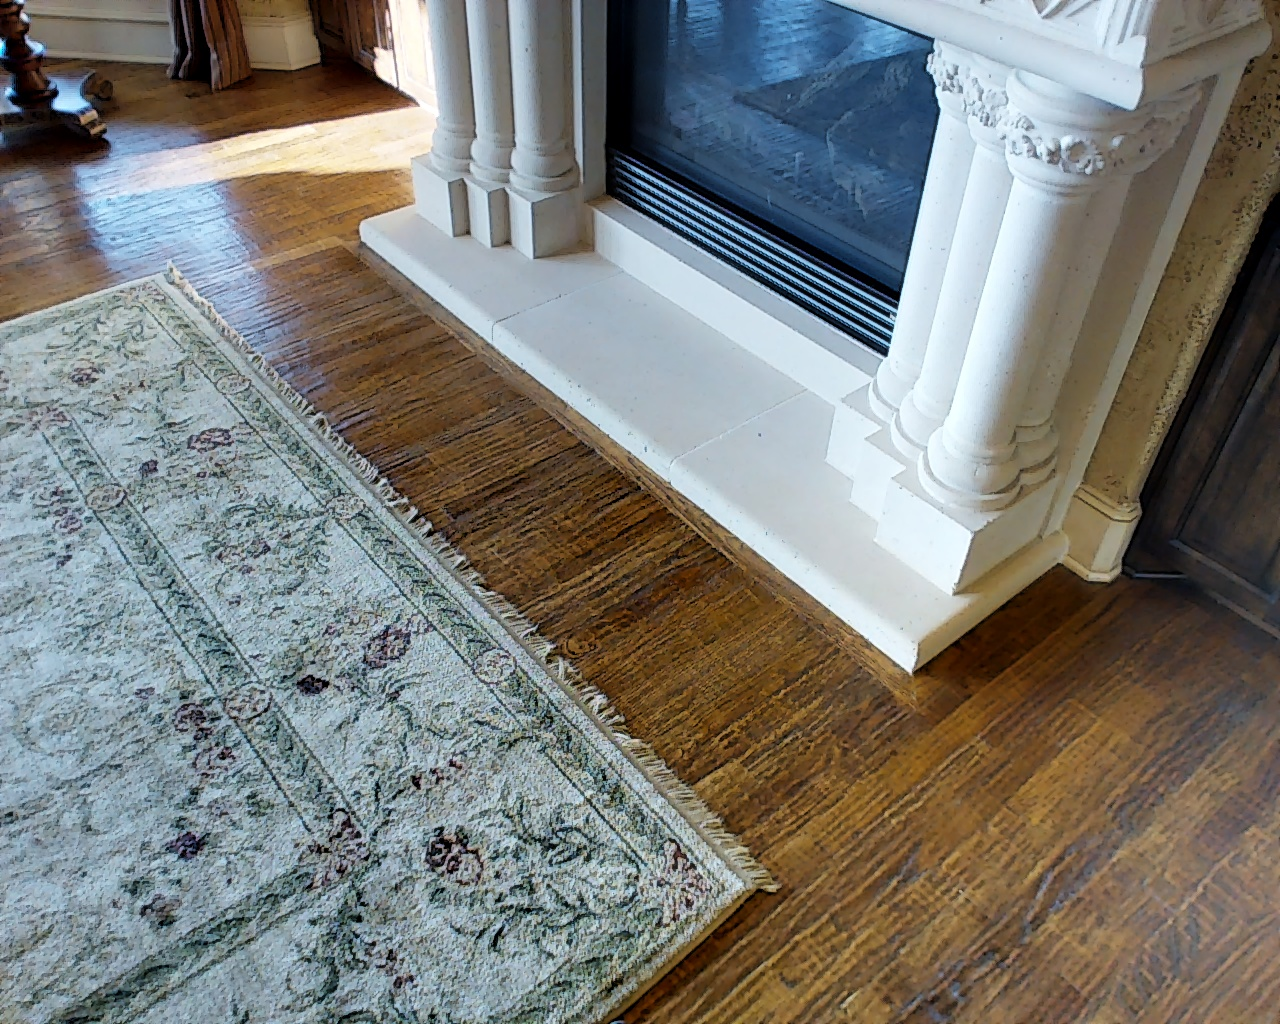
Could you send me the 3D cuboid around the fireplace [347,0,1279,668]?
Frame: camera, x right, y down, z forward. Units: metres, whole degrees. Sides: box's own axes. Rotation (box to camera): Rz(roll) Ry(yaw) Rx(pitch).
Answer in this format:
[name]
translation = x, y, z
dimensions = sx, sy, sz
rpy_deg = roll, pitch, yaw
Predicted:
[fireplace]
translation = 0.110, -0.940, 2.200
dimensions = 0.450, 1.550, 2.150
rpy_deg = -29, 51, -29
